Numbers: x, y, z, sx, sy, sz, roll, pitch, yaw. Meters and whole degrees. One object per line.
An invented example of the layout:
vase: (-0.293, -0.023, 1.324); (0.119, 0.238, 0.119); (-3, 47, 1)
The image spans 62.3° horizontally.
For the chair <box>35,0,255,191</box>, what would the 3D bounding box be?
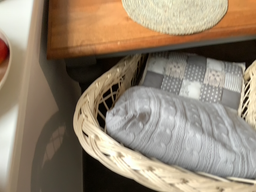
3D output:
chair: (0.210, 0.090, 0.930); (0.590, 0.830, 0.710); (21, 64, 12)
